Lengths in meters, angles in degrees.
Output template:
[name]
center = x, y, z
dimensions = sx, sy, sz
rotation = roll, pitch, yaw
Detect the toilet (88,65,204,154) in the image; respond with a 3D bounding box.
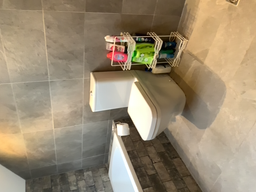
[toilet]
center = 0.110, 0.070, 1.940
dimensions = 0.650, 0.800, 0.400
rotation = -121, 32, -47
